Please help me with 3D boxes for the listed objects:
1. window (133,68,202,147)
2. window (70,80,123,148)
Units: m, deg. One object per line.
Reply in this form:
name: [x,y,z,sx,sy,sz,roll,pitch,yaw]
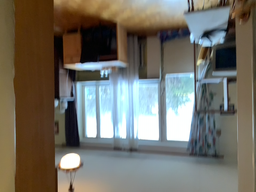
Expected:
window: [0.870,0.270,4.830,1.480,1.700,0.180,-1,180,15]
window: [-0.780,0.430,5.160,1.300,1.550,0.230,-1,180,18]
